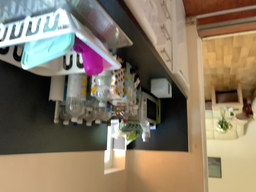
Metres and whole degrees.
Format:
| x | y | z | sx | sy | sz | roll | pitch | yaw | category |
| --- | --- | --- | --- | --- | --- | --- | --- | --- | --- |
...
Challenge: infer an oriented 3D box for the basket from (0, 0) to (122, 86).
| x | y | z | sx | sy | sz | roll | pitch | yaw | category |
| --- | --- | --- | --- | --- | --- | --- | --- | --- | --- |
| -0.260 | -0.180 | 0.870 | 0.350 | 0.170 | 0.350 | -4 | 167 | 24 | basket |
